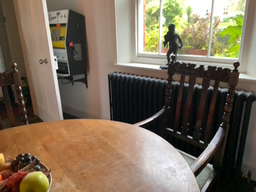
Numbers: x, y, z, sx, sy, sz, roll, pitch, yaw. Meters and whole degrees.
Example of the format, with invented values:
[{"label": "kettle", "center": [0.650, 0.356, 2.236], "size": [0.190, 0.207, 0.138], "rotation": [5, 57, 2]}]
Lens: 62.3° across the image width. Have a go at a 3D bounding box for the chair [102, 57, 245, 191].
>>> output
[{"label": "chair", "center": [0.260, 0.350, 1.280], "size": [0.520, 1.040, 0.560], "rotation": [15, 26, 40]}]
